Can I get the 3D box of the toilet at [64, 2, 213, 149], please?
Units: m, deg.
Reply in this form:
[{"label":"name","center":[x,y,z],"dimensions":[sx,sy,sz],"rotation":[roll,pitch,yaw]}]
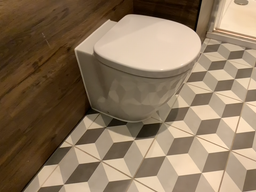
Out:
[{"label":"toilet","center":[0.060,-0.110,1.040],"dimensions":[0.490,0.450,0.390],"rotation":[22,53,20]}]
